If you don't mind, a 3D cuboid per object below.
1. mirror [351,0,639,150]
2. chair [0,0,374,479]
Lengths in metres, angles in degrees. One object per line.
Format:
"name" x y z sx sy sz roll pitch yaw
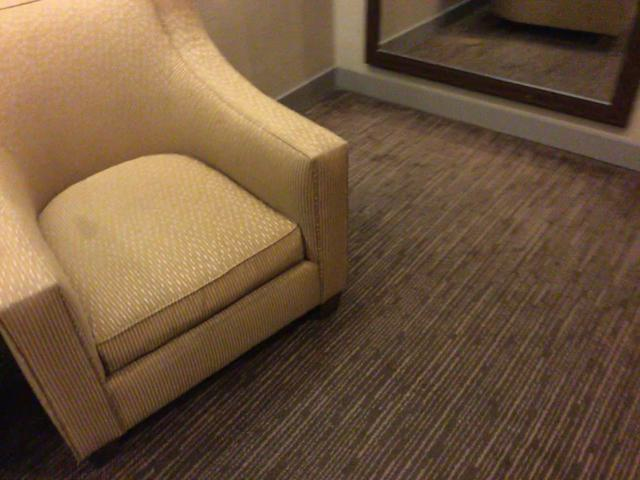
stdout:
"mirror" 0.640 -0.980 2.180 1.210 1.040 0.150 22 42 34
"chair" -0.540 -0.120 1.550 0.910 0.930 0.940 -32 43 -28
